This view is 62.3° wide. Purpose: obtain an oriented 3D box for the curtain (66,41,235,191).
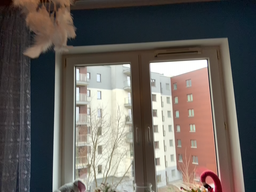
[{"bbox_3d":[0.160,0.270,1.980,1.390,1.420,0.320,-2,-8,4],"label":"curtain"}]
